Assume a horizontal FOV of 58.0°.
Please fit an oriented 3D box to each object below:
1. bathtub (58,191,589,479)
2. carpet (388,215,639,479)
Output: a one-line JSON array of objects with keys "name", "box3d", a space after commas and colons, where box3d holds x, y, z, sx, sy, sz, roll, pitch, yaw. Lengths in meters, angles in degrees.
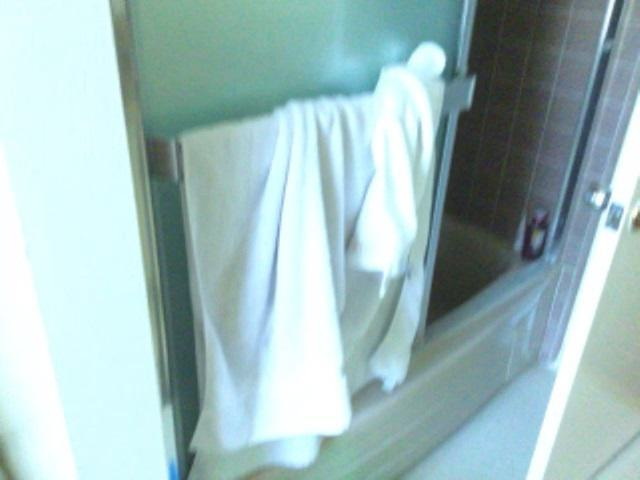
[{"name": "bathtub", "box3d": [0.100, 0.350, 1.670, 1.390, 0.450, 0.570, -23, 37, -34]}, {"name": "carpet", "box3d": [0.580, 0.360, 1.660, 0.690, 0.600, 0.350, -23, 37, -34]}]
